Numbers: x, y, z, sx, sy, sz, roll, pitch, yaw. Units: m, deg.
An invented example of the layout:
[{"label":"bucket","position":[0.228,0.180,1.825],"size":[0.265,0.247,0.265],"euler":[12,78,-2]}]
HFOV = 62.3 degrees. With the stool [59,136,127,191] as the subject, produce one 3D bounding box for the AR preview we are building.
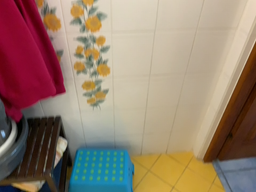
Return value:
[{"label":"stool","position":[-0.200,0.480,1.390],"size":[0.380,0.240,0.360],"euler":[1,42,-2]}]
